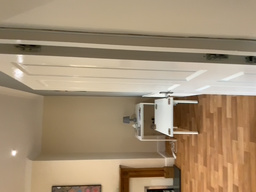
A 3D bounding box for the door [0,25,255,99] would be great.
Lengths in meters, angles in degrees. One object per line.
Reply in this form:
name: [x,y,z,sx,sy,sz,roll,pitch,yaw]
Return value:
door: [0.200,-0.120,1.320,0.930,2.010,0.120,131,139,-78]
